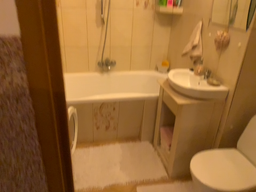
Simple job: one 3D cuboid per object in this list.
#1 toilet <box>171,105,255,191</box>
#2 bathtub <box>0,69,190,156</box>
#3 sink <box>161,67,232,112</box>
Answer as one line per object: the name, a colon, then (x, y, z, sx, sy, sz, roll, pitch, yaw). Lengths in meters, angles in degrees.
toilet: (0.750, 0.520, 1.470, 0.680, 0.800, 0.390, -3, 27, -13)
bathtub: (-0.320, 0.120, 2.350, 1.740, 0.610, 0.680, -2, 27, -11)
sink: (0.530, -0.080, 1.750, 0.330, 0.160, 0.500, -3, 27, -13)
